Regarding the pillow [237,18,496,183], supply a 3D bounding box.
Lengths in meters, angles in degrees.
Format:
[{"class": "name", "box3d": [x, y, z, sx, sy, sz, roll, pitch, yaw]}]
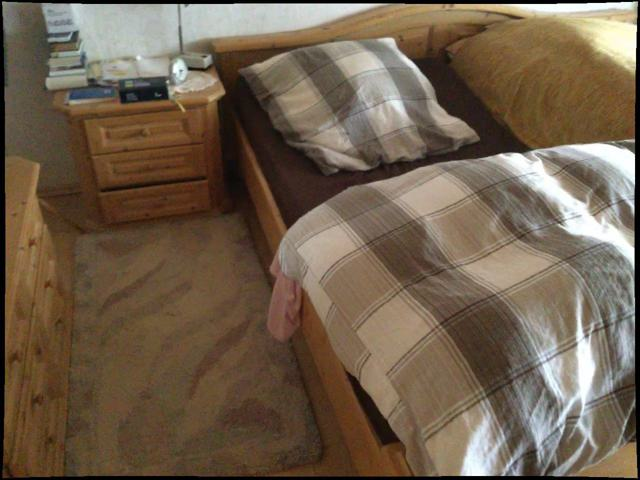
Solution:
[{"class": "pillow", "box3d": [0.130, -0.601, 2.310, 0.789, 0.270, 0.780, -9, 39, -12]}]

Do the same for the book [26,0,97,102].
[{"class": "book", "box3d": [-0.989, -0.741, 2.240, 0.160, 0.300, 0.280, -9, 39, -12]}]

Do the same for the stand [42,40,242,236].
[{"class": "stand", "box3d": [-0.709, -0.440, 2.430, 0.649, 0.590, 0.470, -9, 39, -12]}]
